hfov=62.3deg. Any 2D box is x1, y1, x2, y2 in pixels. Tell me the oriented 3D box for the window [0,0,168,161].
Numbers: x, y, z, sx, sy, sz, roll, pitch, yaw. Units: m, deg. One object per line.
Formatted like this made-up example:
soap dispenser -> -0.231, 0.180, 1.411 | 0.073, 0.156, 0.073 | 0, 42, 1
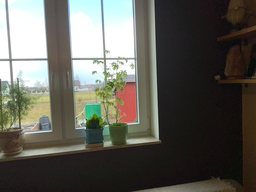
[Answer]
window -> -0.540, -0.290, 1.700 | 1.750, 1.490, 0.170 | -3, 4, -13
